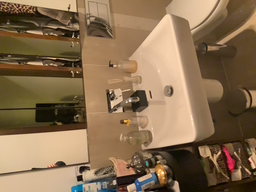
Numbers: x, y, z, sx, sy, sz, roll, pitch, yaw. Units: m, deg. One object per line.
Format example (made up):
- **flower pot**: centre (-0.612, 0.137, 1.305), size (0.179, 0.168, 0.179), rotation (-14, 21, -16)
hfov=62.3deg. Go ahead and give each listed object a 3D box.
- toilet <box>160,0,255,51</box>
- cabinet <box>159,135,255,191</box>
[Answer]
- **toilet**: centre (0.540, -0.610, 1.460), size (0.520, 0.360, 0.360), rotation (143, 122, -61)
- **cabinet**: centre (0.590, 0.370, 1.250), size (0.360, 0.690, 0.230), rotation (143, 122, -61)
